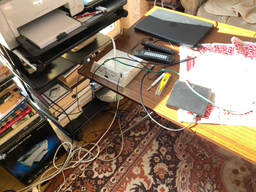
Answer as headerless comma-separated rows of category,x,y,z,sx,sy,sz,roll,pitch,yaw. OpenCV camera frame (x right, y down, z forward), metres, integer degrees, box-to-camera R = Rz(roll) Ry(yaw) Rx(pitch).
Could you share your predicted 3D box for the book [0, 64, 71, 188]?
book,-0.710,0.090,1.140,0.670,0.590,0.260,26,56,25
